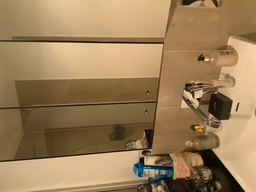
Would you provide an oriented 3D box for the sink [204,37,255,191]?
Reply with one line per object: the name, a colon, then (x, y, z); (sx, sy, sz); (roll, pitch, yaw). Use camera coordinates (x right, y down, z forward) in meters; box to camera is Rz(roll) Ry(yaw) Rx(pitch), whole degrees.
sink: (0.570, 0.100, 0.920); (0.480, 0.130, 0.610); (-113, 23, -62)
